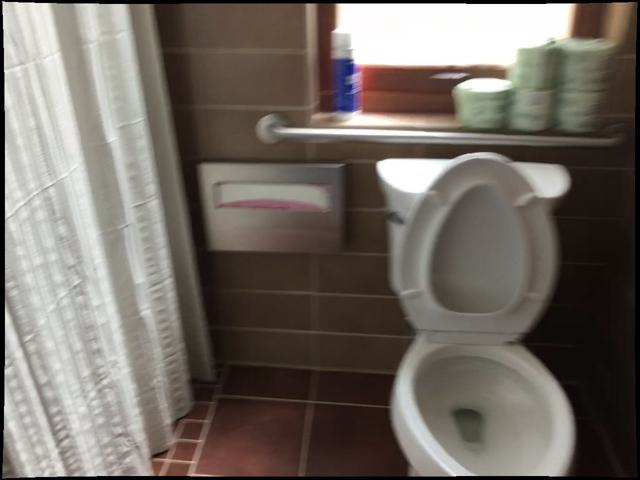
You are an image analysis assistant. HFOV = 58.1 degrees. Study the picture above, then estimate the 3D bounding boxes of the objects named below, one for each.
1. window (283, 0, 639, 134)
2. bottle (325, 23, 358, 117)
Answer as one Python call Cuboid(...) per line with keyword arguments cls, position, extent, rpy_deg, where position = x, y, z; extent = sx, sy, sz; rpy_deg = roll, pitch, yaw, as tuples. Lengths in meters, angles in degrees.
Cuboid(cls="window", position=(0.349, -0.822, 1.400), extent=(0.888, 1.112, 0.120), rpy_deg=(2, 30, 6))
Cuboid(cls="bottle", position=(0.060, -0.471, 1.600), extent=(0.080, 0.230, 0.110), rpy_deg=(2, 30, 6))
